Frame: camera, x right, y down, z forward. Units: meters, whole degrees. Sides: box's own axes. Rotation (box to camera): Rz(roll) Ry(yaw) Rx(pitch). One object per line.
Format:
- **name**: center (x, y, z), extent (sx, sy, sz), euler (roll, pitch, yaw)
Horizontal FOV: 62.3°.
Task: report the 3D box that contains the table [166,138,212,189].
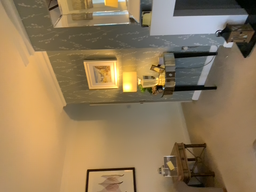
- **table**: center (0.990, 1.160, 3.630), extent (0.700, 0.500, 0.590), euler (90, 177, -50)
